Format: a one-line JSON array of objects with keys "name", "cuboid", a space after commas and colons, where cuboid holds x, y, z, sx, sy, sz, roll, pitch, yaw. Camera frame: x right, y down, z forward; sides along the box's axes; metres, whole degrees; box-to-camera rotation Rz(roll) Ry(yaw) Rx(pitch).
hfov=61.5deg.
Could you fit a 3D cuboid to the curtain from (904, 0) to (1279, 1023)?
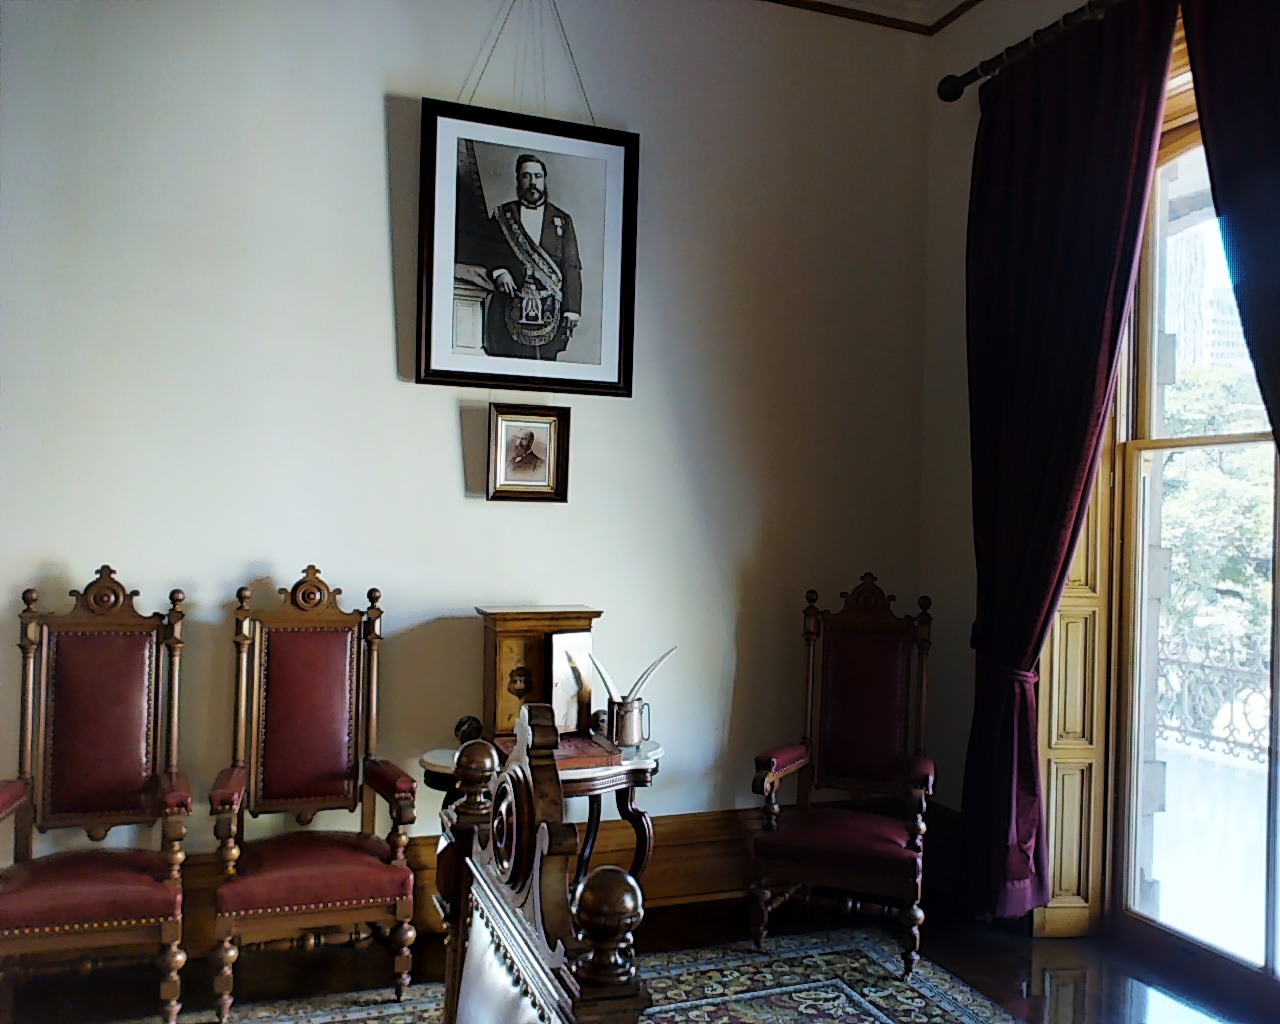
[{"name": "curtain", "cuboid": [1.730, -0.160, 3.460, 0.370, 3.450, 2.360, 1, 0, -21]}]
